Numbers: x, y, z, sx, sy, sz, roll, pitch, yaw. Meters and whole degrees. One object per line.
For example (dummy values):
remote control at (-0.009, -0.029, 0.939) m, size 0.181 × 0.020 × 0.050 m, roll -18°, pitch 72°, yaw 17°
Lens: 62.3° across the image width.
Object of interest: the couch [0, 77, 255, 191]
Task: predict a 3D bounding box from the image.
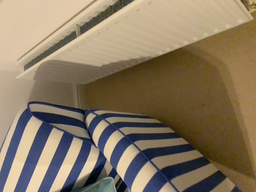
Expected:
couch at (-0.050, 0.580, 1.010) m, size 0.920 × 0.840 × 0.920 m, roll 41°, pitch 114°, yaw 34°
